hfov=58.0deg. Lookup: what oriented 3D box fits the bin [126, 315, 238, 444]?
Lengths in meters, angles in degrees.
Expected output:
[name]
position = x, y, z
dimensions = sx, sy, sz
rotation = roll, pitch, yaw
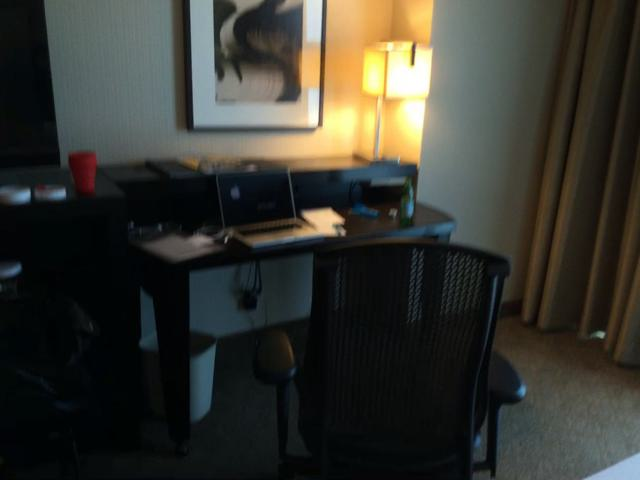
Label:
[bin]
position = -0.560, 0.540, 2.330
dimensions = 0.330, 0.300, 0.380
rotation = -8, 20, -28
